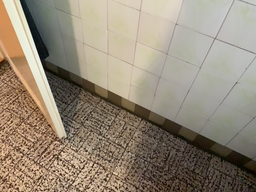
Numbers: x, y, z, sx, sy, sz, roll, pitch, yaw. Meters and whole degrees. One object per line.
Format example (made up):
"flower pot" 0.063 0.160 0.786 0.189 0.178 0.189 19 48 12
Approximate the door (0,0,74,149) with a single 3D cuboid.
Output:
"door" -0.560 -0.610 0.610 0.100 2.040 0.890 -32 63 -25
